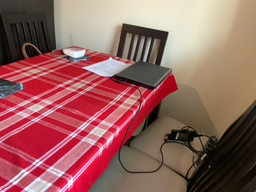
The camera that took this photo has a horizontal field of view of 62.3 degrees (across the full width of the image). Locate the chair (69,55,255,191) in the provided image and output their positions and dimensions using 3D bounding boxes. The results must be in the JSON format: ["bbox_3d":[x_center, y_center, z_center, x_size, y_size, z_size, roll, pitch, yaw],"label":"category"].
[{"bbox_3d":[0.130,0.420,0.870,0.570,0.990,0.440,21,29,23],"label":"chair"}]

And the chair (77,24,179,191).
[{"bbox_3d":[-0.010,0.050,1.550,0.400,1.000,0.580,19,28,19],"label":"chair"}]
